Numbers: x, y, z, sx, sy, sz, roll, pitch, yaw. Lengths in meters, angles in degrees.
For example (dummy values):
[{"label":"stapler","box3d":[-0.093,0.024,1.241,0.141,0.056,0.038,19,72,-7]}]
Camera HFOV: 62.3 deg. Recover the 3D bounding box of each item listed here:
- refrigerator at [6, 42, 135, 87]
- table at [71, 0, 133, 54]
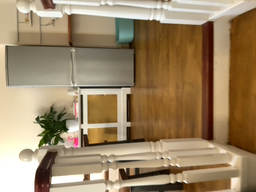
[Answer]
[{"label":"refrigerator","box3d":[-0.800,-0.430,3.230,0.710,1.680,0.570,-162,72,-77]},{"label":"table","box3d":[-0.420,-1.090,3.320,0.610,0.880,0.740,-162,72,-77]}]
